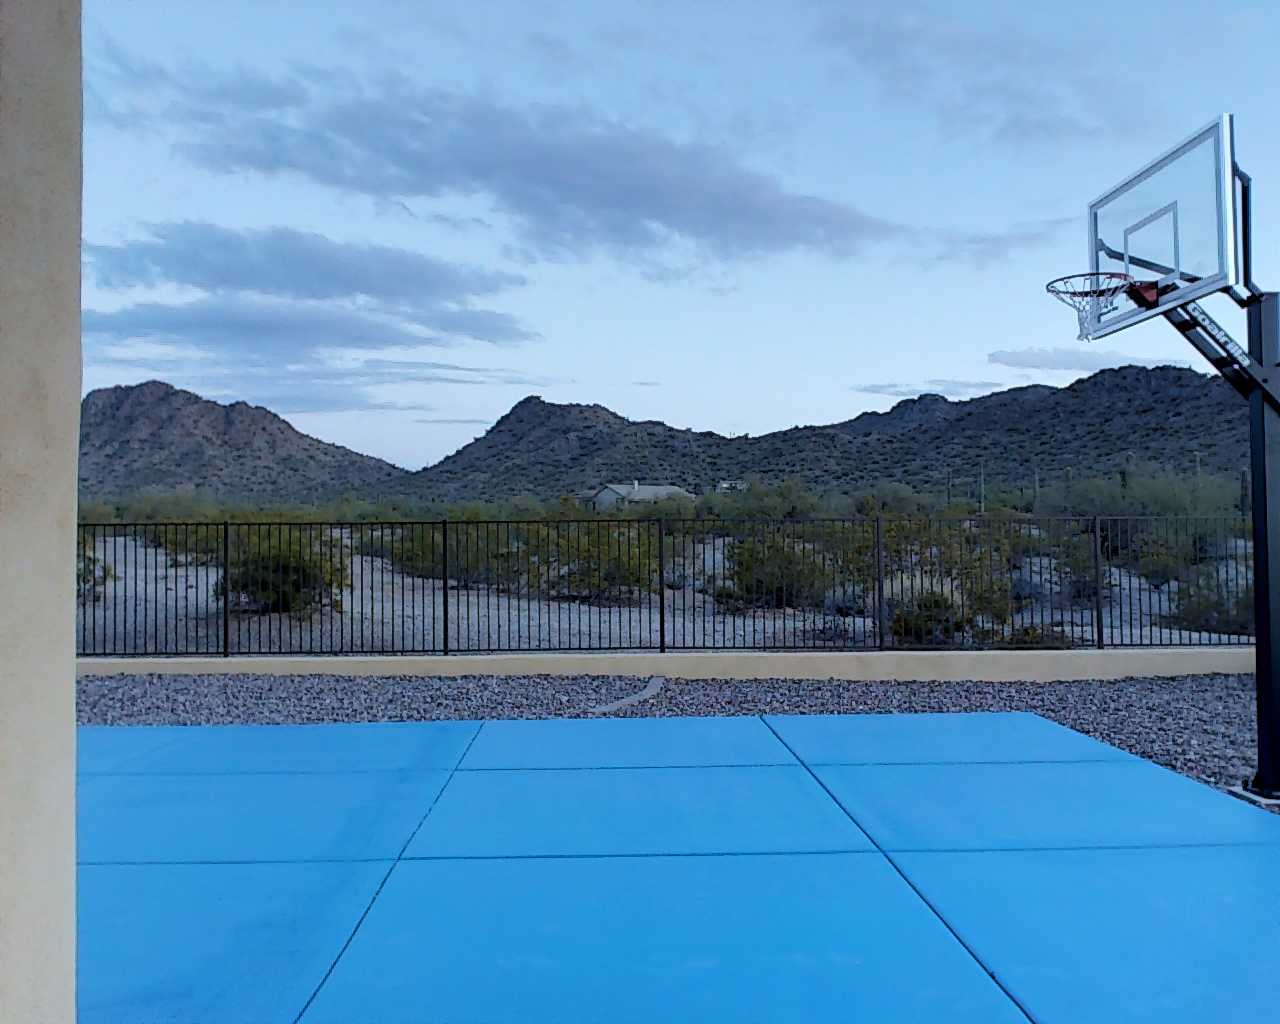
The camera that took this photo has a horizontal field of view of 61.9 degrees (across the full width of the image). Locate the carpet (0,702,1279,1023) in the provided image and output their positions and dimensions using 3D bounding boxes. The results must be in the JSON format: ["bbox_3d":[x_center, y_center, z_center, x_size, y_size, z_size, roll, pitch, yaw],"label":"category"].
[{"bbox_3d":[-1.320,1.760,6.220,9.669,0.090,6.290,-1,-1,-3],"label":"carpet"}]
